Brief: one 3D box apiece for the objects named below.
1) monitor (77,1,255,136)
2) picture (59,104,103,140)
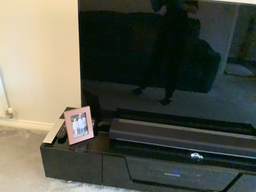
[{"bbox_3d":[0.380,-0.110,1.190,1.260,0.770,0.030,3,30,6],"label":"monitor"},{"bbox_3d":[-0.280,0.150,1.260,0.190,0.180,0.090,-2,41,-41],"label":"picture"}]
